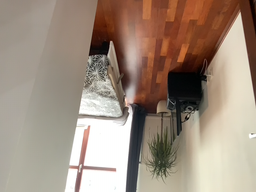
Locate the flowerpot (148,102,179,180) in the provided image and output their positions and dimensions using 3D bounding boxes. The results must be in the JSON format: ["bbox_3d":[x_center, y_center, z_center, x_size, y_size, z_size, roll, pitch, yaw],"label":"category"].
[{"bbox_3d":[0.600,0.790,3.680,0.440,1.200,0.600,3,158,3],"label":"flowerpot"}]
